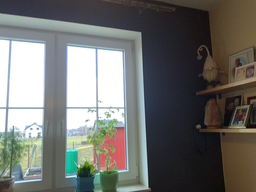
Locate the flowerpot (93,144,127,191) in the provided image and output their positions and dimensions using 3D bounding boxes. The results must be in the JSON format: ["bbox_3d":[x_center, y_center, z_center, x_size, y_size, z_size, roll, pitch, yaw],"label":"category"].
[{"bbox_3d":[-0.160,0.620,1.770,0.230,0.400,0.260,1,-8,-17],"label":"flowerpot"}]

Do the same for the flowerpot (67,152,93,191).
[{"bbox_3d":[-0.390,0.650,1.700,0.190,0.350,0.230,1,-8,-17],"label":"flowerpot"}]

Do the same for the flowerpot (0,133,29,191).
[{"bbox_3d":[-0.880,0.530,1.490,0.290,0.510,0.210,1,-8,-19],"label":"flowerpot"}]
